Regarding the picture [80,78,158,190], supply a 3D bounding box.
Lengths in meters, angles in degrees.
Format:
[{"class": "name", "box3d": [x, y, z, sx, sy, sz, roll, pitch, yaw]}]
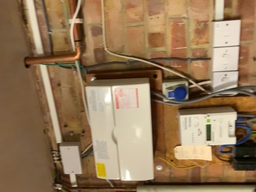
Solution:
[{"class": "picture", "box3d": [-0.020, 0.150, 0.810, 0.100, 0.250, 0.410, -69, -24, -73]}]
